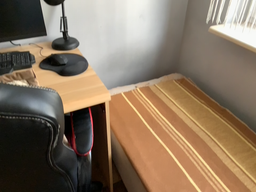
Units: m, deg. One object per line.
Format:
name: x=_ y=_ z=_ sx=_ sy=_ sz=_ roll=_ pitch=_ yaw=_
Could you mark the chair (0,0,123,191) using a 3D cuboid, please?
chair: x=-0.450 y=0.190 z=0.870 sx=0.690 sy=1.170 sz=0.660 roll=-10 pitch=38 yaw=-15
